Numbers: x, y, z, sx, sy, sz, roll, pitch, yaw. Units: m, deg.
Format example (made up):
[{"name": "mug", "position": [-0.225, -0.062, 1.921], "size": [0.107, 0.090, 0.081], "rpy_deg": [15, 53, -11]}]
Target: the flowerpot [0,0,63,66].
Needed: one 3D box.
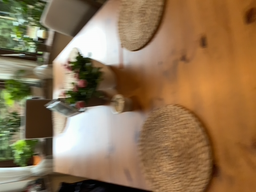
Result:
[{"name": "flowerpot", "position": [-1.370, -0.900, 2.550], "size": [0.930, 0.860, 0.340], "rpy_deg": [-60, 43, 31]}]

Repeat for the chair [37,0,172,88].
[{"name": "chair", "position": [-0.200, -0.460, 1.790], "size": [0.500, 0.940, 0.560], "rpy_deg": [-36, 59, 47]}]
